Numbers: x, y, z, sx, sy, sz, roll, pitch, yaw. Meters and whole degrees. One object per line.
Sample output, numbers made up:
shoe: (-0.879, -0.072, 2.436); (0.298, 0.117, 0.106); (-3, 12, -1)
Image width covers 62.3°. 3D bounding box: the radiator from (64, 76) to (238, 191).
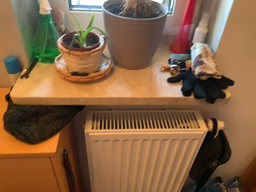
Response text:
radiator: (0.050, 0.260, 0.940); (0.530, 0.680, 0.220); (0, 40, -5)
